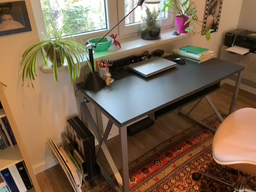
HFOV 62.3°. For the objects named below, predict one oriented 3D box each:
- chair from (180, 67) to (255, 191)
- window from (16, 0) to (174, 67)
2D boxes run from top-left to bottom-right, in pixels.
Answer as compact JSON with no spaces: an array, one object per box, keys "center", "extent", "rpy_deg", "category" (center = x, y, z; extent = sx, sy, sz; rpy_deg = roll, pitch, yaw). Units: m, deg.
[{"center":[0.750,0.370,1.350],"extent":[0.620,0.840,0.620],"rpy_deg":[15,34,25],"category":"chair"},{"center":[-0.130,-1.000,1.660],"extent":[1.480,1.200,0.120],"rpy_deg":[-25,37,-34],"category":"window"}]
